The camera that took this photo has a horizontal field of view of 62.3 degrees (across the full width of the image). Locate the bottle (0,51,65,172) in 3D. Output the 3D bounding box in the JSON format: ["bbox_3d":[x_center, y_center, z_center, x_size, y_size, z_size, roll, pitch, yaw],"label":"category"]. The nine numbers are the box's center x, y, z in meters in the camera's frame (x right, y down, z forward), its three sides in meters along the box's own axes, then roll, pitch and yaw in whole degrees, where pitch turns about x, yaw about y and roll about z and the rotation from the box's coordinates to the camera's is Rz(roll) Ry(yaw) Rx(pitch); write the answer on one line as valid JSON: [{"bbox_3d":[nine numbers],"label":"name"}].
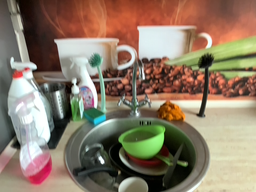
[{"bbox_3d":[-0.350,0.030,0.700,0.160,0.280,0.310,0,26,1],"label":"bottle"}]
